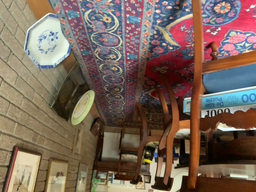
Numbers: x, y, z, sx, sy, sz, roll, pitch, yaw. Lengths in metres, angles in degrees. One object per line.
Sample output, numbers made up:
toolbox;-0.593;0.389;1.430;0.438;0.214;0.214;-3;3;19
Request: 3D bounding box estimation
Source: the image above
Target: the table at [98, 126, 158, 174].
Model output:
table;0.020;1.050;4.090;1.030;0.770;0.490;4;160;3
